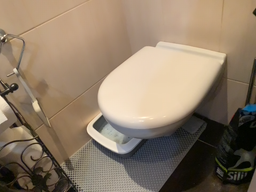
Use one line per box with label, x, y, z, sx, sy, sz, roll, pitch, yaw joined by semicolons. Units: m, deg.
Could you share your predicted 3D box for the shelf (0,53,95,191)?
shelf;-0.360;0.170;0.730;0.260;0.590;0.220;22;51;34
